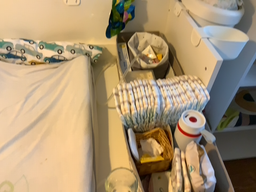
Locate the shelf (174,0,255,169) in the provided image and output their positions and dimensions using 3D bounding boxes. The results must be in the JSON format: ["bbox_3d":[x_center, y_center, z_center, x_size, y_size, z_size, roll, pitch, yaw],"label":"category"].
[{"bbox_3d":[0.760,-0.090,1.170,0.640,1.300,0.340,-3,46,-9],"label":"shelf"}]
